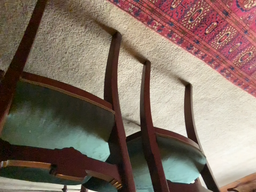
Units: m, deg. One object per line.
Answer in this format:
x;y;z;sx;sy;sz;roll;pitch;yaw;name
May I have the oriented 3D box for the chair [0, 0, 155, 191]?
-0.260;0.090;0.680;0.420;0.810;0.440;23;131;-30;chair
